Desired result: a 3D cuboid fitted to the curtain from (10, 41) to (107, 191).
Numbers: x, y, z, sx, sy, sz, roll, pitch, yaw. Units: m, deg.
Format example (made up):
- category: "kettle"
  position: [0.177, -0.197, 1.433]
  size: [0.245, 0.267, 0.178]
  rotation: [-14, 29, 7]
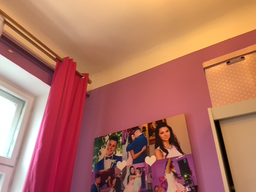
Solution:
- category: "curtain"
  position: [-0.630, 0.550, 2.040]
  size: [0.420, 2.310, 0.580]
  rotation: [-19, -38, 28]
